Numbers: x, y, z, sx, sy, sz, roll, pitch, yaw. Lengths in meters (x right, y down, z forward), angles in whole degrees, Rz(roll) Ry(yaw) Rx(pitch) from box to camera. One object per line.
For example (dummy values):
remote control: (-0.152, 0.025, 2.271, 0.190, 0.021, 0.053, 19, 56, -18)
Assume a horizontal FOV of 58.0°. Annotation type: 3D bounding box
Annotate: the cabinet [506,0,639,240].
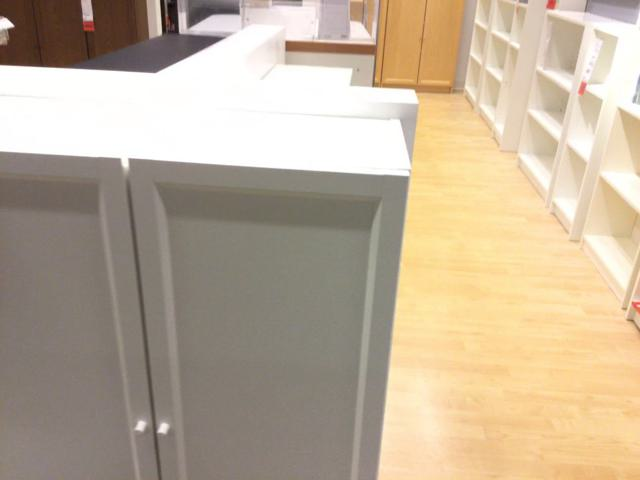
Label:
cabinet: (1.470, -0.850, 3.400, 0.290, 1.100, 1.570, 4, 27, 5)
